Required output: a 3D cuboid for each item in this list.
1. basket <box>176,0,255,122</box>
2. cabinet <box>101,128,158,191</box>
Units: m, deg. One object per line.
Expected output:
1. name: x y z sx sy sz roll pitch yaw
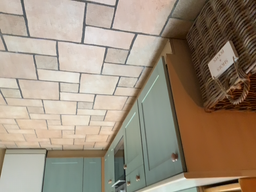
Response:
1. basket: 0.720 -0.250 1.120 0.620 0.590 0.590 4 151 -15
2. cabinet: -0.040 1.070 3.180 0.590 0.890 0.890 3 151 -14
